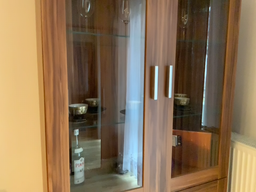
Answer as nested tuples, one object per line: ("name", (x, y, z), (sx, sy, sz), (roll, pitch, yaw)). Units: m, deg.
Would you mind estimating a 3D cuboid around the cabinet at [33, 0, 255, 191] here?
("cabinet", (0.090, 0.300, 1.230), (1.100, 2.030, 0.470), (-3, 9, -25))
